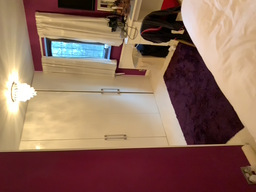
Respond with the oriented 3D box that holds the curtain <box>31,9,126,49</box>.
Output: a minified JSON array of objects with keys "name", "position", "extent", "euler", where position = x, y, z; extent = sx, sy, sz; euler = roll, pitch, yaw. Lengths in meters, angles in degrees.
[{"name":"curtain","position":[-0.790,-1.080,3.510],"extent":[0.500,1.430,0.160],"euler":[105,161,-45]}]

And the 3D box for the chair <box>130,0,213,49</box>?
[{"name":"chair","position":[0.500,-0.990,2.670],"extent":[0.460,0.800,0.580],"euler":[107,159,-49]}]
